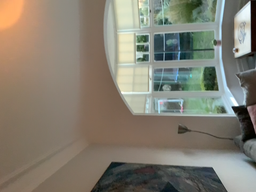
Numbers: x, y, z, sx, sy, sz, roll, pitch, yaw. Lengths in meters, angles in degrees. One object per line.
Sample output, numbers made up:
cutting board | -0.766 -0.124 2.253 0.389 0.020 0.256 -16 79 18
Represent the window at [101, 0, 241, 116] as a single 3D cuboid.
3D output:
window | 0.760 -1.180 4.240 1.460 2.280 2.960 -17 -74 -82
